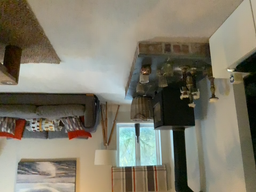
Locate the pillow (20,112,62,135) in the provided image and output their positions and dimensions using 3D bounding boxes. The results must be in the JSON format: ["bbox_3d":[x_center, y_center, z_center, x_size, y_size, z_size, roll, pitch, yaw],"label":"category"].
[{"bbox_3d":[-1.700,0.550,4.210,0.700,0.130,0.480,2,128,-6],"label":"pillow"}]

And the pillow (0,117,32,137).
[{"bbox_3d":[-2.390,0.630,4.290,0.680,0.350,0.570,1,167,-10],"label":"pillow"}]
